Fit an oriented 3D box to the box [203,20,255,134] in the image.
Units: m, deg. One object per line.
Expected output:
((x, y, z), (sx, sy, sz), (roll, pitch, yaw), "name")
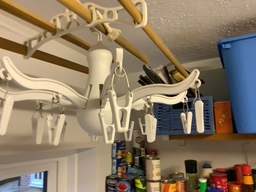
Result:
((0.560, -0.050, 0.900), (0.360, 0.400, 0.390), (-7, -12, 29), "box")
